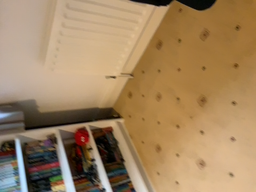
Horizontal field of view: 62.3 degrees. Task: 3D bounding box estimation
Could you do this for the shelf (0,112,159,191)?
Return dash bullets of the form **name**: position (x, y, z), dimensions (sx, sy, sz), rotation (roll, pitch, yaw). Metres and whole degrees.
- **shelf**: position (-0.390, 0.600, 1.430), dimensions (0.870, 1.040, 0.350), rotation (61, 138, 32)
